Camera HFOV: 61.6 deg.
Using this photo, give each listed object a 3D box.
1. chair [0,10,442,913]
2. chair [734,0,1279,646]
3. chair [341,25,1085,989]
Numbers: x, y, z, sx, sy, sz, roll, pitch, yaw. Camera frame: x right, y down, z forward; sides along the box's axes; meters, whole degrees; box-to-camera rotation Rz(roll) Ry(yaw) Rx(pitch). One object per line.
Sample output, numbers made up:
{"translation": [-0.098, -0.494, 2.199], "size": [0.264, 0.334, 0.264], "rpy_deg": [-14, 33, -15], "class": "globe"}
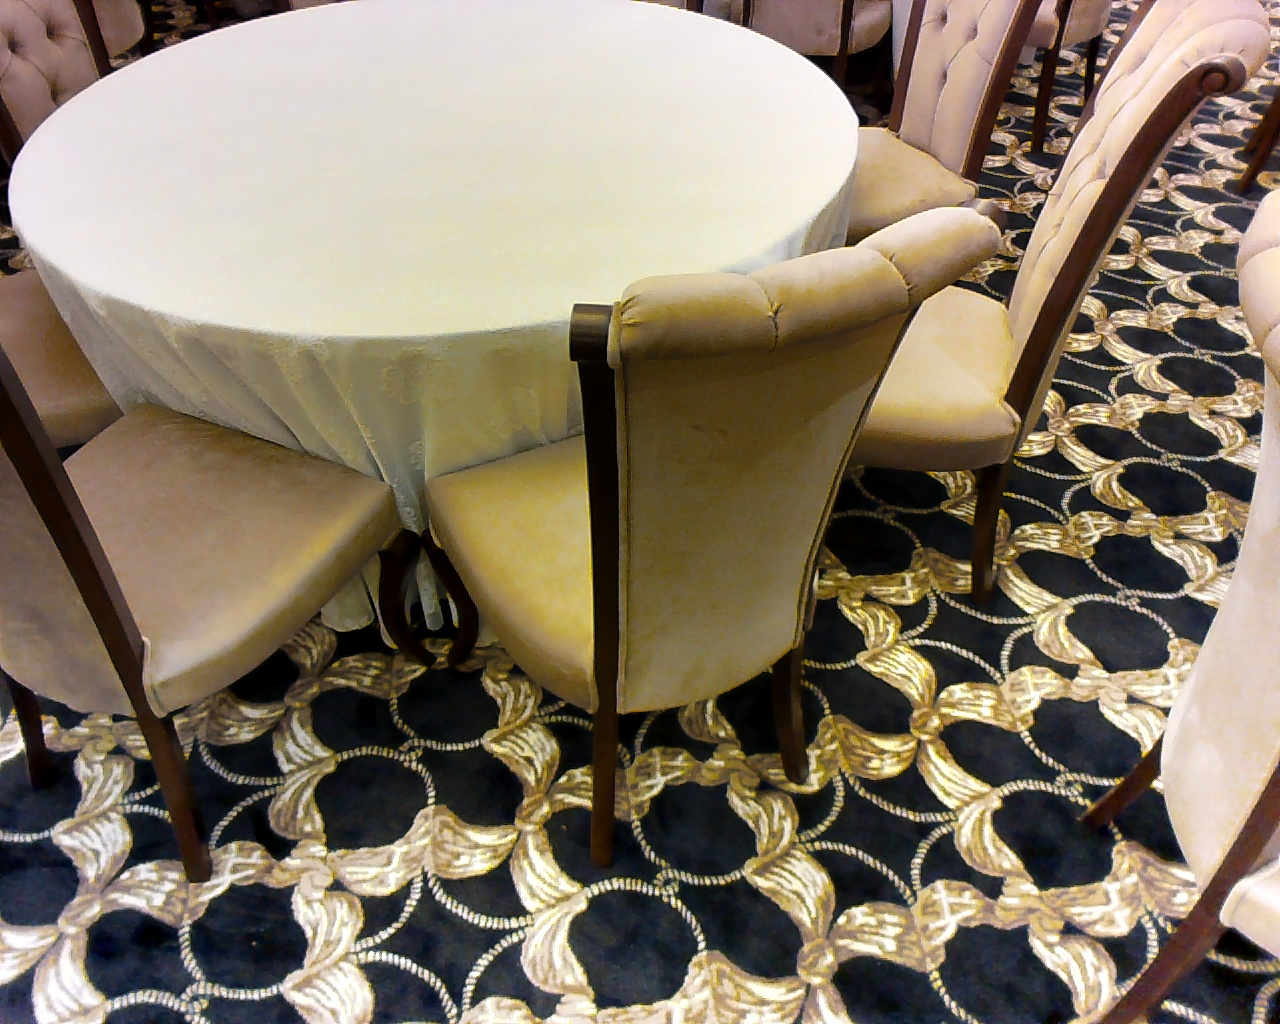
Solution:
{"translation": [-0.760, -0.070, 1.530], "size": [0.580, 0.970, 0.700], "rpy_deg": [12, 43, 14], "class": "chair"}
{"translation": [0.610, -0.400, 1.960], "size": [0.670, 1.040, 0.590], "rpy_deg": [15, 44, 16], "class": "chair"}
{"translation": [0.020, 0.010, 1.540], "size": [0.590, 1.080, 0.710], "rpy_deg": [-13, 44, -14], "class": "chair"}
